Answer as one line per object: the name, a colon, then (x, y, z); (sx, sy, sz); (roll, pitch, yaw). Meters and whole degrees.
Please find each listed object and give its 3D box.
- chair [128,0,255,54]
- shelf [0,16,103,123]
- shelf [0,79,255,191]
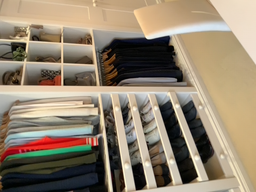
chair: (0.590, -0.700, 1.500); (0.540, 1.010, 0.500); (107, 156, -43)
shelf: (-0.980, -0.280, 2.370); (0.700, 1.220, 0.900); (111, 153, -49)
shelf: (-0.190, 0.870, 1.680); (0.700, 2.340, 2.000); (111, 153, -49)
